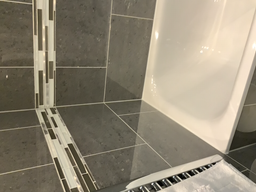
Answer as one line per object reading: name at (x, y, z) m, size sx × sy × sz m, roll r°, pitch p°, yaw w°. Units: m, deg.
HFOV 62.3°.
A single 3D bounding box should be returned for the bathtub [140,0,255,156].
bathtub at (0.580, -0.640, 1.080) m, size 0.690 × 0.530 × 1.650 m, roll 35°, pitch 123°, yaw 54°
